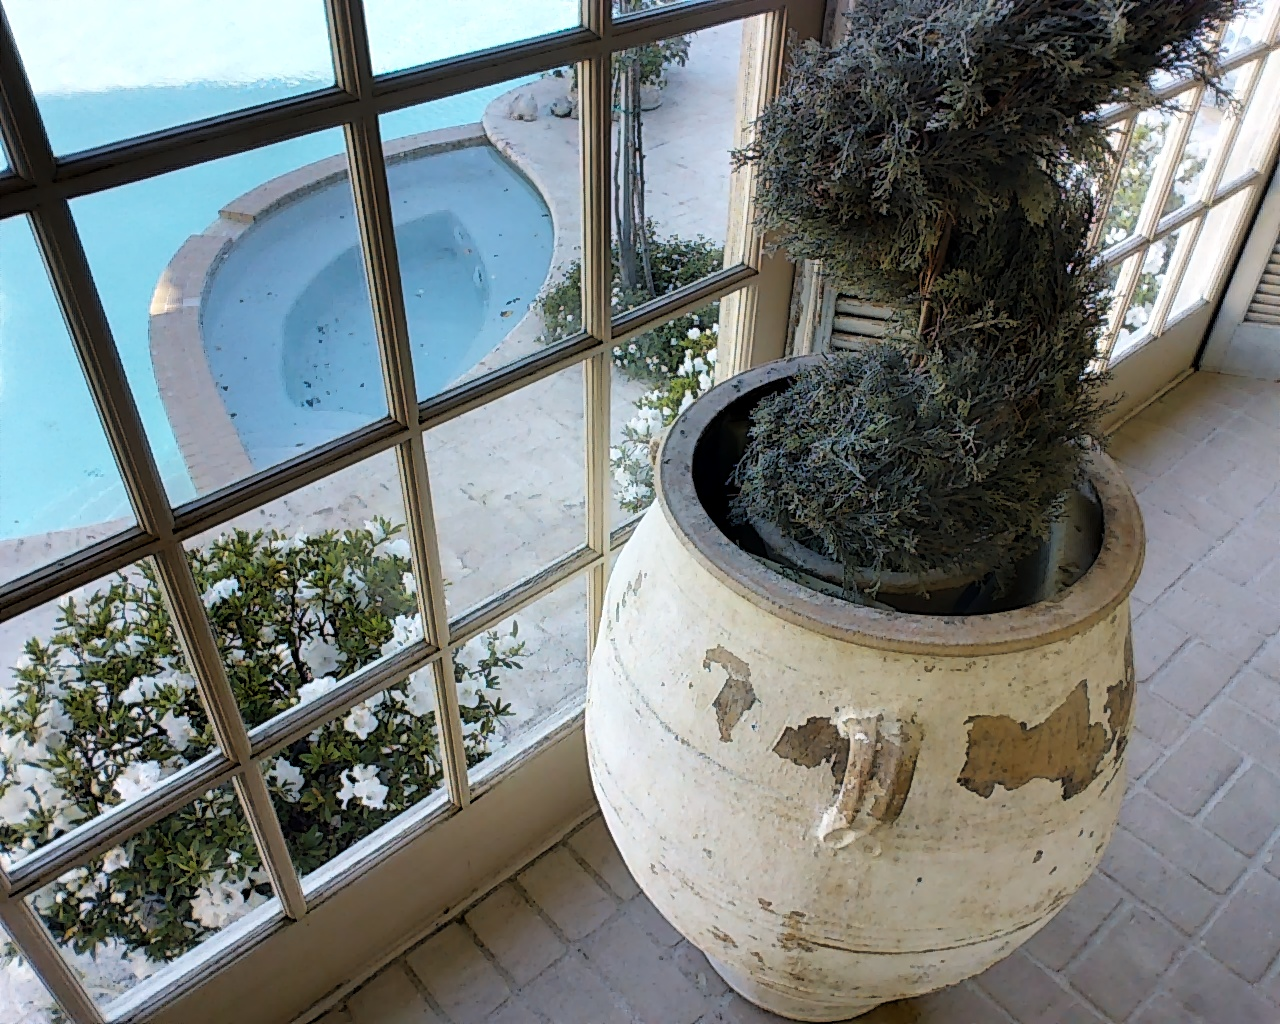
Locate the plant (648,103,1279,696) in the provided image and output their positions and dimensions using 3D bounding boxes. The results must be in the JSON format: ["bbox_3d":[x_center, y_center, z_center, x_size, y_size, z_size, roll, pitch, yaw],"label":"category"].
[{"bbox_3d":[0.290,-0.140,1.060,0.410,0.330,0.390,-23,46,-25],"label":"plant"}]

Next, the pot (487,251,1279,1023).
[{"bbox_3d":[0.290,0.290,1.460,0.660,0.930,0.680,-26,47,-28],"label":"pot"}]
